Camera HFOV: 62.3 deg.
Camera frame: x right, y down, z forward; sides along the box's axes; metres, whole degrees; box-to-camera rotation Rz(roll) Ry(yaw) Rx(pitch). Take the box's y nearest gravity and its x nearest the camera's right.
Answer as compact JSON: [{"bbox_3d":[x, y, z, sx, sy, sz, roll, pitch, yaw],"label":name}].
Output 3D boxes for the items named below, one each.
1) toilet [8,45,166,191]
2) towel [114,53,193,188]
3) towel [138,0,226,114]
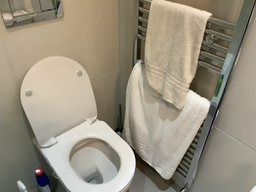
[{"bbox_3d":[-0.190,0.270,1.090,0.380,0.840,0.540,-28,46,-32],"label":"toilet"},{"bbox_3d":[0.090,0.150,1.160,0.080,0.660,0.420,-27,46,-31],"label":"towel"},{"bbox_3d":[0.190,-0.180,0.900,0.090,0.430,0.300,-28,46,-32],"label":"towel"}]
